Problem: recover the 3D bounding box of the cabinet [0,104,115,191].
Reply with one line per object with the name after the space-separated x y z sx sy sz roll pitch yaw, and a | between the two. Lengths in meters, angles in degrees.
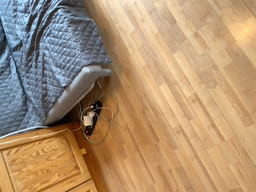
-0.640 0.720 1.650 0.530 0.790 1.120 -35 74 34 | cabinet
